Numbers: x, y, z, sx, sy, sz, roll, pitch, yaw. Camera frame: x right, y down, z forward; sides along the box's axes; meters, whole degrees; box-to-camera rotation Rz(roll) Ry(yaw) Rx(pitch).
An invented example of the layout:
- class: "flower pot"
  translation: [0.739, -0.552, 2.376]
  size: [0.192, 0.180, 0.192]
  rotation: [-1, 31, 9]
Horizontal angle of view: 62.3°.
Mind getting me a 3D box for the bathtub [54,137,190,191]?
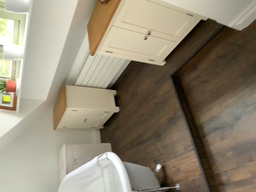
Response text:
- class: "bathtub"
  translation: [-0.190, 1.030, 2.040]
  size: [1.510, 0.720, 0.740]
  rotation: [-49, 44, 47]
